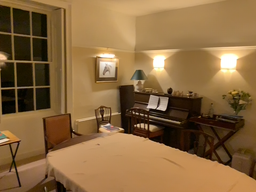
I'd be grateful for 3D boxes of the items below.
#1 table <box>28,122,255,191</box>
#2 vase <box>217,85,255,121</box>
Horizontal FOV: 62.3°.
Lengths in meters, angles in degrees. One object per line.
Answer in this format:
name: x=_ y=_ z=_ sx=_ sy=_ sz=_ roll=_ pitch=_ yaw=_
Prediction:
table: x=0.090 y=0.980 z=2.140 sx=1.260 sy=0.790 sz=2.270 roll=-6 pitch=11 yaw=-44
vase: x=1.820 y=0.090 z=3.530 sx=0.530 sy=0.510 sz=0.250 roll=9 pitch=11 yaw=42
